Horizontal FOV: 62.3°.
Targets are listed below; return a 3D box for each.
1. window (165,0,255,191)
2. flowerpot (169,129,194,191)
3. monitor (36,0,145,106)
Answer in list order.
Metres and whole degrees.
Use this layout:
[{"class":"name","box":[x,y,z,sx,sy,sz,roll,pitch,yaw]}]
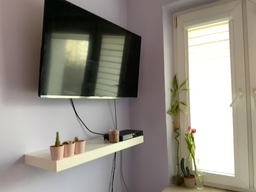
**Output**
[{"class":"window","box":[0.980,0.050,1.400,1.480,1.650,0.160,-2,-1,36]},{"class":"flowerpot","box":[0.430,0.500,1.700,0.150,0.450,0.140,-2,-1,33]},{"class":"monitor","box":[-0.150,-0.250,1.450,0.060,0.530,0.950,-2,-9,34]}]
